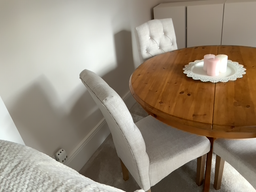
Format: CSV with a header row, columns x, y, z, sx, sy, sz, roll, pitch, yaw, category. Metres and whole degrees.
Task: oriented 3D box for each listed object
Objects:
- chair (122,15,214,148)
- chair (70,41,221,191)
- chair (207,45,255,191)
x,y,z,sx,sy,sz,roll,pitch,yaw,category
0.340,-0.150,1.920,0.470,0.960,0.570,-20,33,-19,chair
0.120,0.240,1.340,0.630,0.950,0.470,-20,33,-19,chair
0.840,0.270,1.100,0.470,0.960,0.590,-19,32,-18,chair
